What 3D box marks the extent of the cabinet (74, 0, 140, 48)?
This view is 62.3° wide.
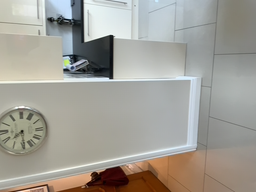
[{"bbox_3d":[-0.340,-1.120,3.260,0.630,0.810,0.680,20,111,62],"label":"cabinet"}]
